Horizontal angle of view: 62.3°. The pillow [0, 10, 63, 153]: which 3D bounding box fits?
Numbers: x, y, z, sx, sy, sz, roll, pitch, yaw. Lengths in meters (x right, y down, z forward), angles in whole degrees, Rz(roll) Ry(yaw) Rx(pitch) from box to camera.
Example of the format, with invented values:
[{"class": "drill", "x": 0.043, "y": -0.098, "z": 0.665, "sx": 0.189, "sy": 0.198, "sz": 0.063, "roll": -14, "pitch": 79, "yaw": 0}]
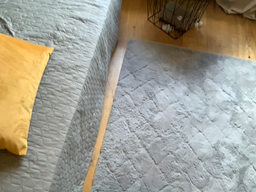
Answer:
[{"class": "pillow", "x": -0.470, "y": -0.080, "z": 0.850, "sx": 0.310, "sy": 0.170, "sz": 0.570, "roll": 0, "pitch": 61, "yaw": -4}]
